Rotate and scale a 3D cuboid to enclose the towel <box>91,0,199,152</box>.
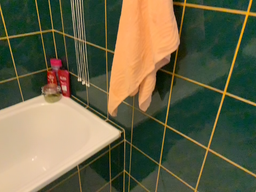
[{"bbox_3d":[0.050,-0.330,0.740,0.320,1.080,0.200,29,39,36],"label":"towel"}]
